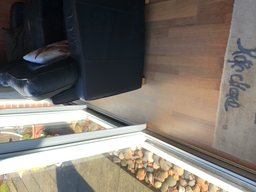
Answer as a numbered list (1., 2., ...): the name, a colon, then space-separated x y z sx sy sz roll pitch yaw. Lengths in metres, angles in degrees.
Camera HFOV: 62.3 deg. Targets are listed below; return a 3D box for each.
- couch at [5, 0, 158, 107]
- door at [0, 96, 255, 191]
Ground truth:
1. couch: -0.420 -0.490 1.750 0.910 0.860 0.960 14 101 48
2. door: -0.150 0.500 0.390 5.640 2.440 0.070 14 101 48
